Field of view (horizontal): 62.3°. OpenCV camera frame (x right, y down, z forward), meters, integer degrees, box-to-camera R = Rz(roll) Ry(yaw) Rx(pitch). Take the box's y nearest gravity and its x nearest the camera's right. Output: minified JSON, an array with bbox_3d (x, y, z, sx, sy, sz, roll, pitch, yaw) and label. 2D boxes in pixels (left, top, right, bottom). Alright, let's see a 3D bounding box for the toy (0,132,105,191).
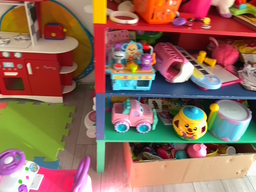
[{"bbox_3d":[-0.420,0.420,1.080,0.570,0.340,0.280,4,36,-4],"label":"toy"}]
